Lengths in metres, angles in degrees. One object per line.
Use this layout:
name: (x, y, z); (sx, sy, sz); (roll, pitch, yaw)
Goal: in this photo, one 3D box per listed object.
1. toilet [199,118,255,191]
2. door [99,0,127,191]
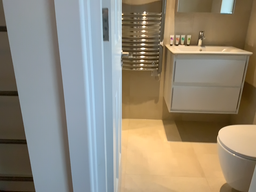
toilet: (0.820, 0.450, 1.400); (0.520, 0.450, 0.440); (1, 21, 1)
door: (-0.050, -0.350, 1.090); (0.050, 2.090, 0.870); (1, 21, 1)
